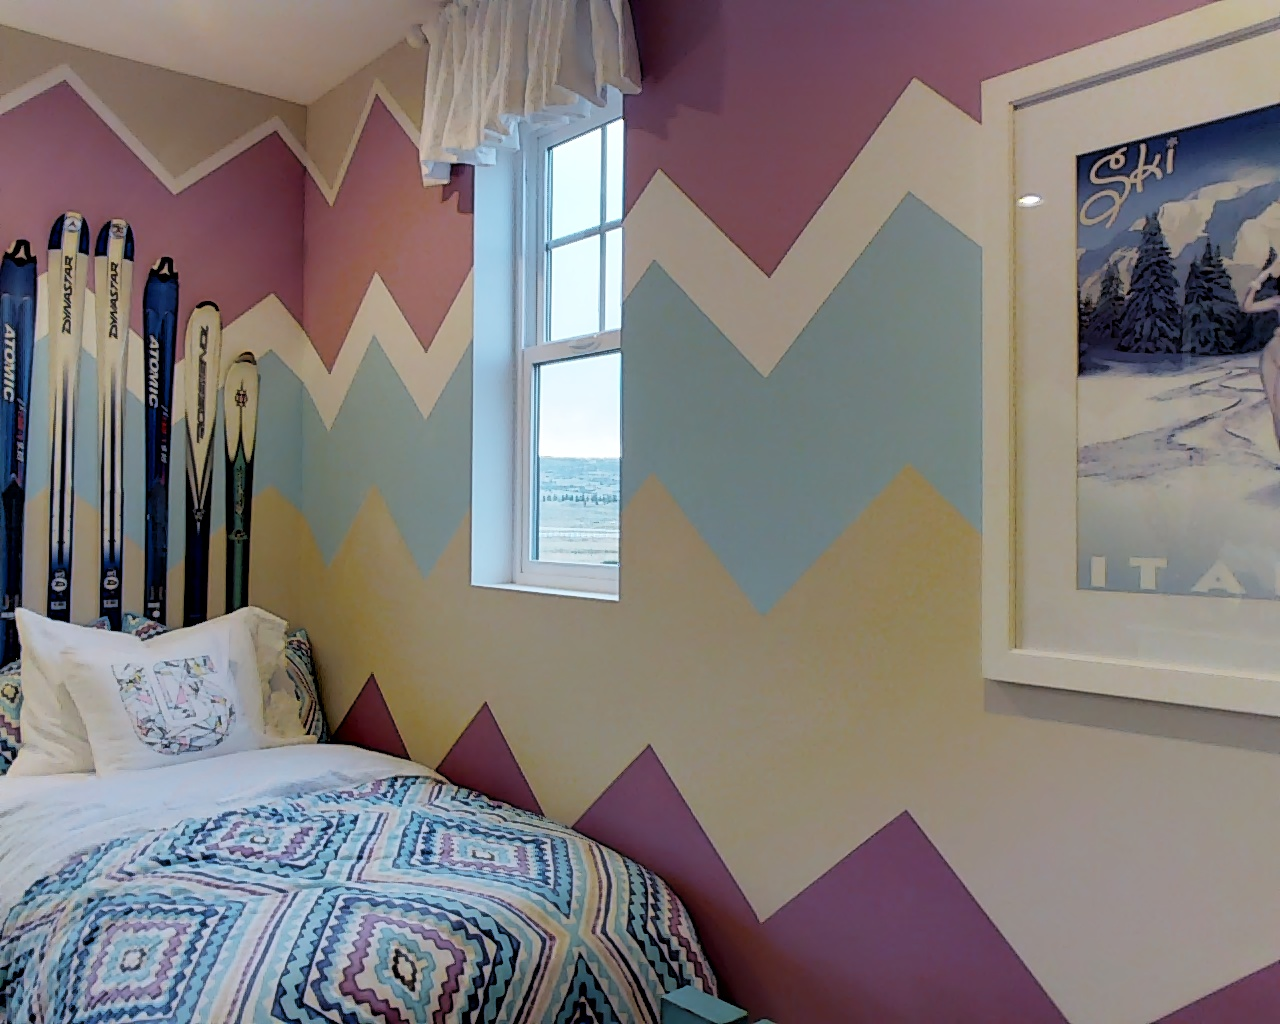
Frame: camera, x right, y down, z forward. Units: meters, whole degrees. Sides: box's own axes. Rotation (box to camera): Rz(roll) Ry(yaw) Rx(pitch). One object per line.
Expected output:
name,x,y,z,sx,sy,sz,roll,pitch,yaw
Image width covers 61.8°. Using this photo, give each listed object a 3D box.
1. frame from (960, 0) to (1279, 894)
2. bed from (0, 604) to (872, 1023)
frame,0.720,-0.110,1.310,0.050,1.100,0.700,2,-2,-40
bed,-0.840,0.840,2.180,1.260,1.130,2.240,2,-2,-41
